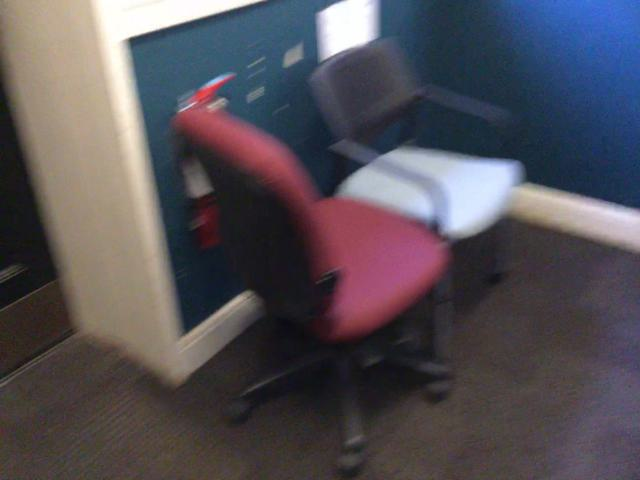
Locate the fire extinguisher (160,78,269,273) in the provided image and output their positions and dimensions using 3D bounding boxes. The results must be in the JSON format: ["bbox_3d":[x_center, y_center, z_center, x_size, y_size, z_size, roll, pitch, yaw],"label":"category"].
[{"bbox_3d":[-0.270,-0.170,1.560,0.130,0.470,0.190,21,39,33],"label":"fire extinguisher"}]
